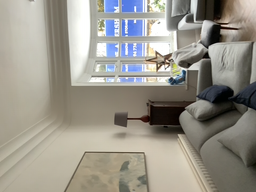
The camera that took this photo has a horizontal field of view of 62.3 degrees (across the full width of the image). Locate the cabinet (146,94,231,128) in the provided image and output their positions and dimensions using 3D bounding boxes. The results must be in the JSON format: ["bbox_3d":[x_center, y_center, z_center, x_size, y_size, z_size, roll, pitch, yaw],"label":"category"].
[{"bbox_3d":[0.920,0.230,3.410,0.440,1.210,0.420,-82,-8,-77],"label":"cabinet"}]
